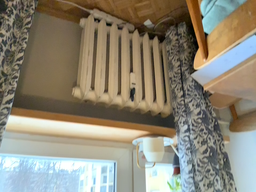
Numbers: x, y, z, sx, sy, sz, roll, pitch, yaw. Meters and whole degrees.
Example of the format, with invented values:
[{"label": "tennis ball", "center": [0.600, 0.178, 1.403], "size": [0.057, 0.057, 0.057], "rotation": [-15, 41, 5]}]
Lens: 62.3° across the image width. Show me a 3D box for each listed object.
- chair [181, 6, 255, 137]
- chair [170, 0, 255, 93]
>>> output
[{"label": "chair", "center": [0.670, -0.150, 1.480], "size": [0.350, 0.760, 0.380], "rotation": [10, 154, -22]}, {"label": "chair", "center": [0.440, -0.450, 0.830], "size": [0.390, 0.740, 0.390], "rotation": [9, 154, -19]}]
